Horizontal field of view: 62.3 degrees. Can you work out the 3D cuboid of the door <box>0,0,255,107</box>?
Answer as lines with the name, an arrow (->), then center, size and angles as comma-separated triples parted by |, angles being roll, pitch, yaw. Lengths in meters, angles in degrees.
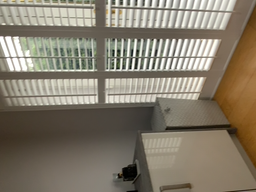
door -> -0.090, -0.490, 1.610 | 0.070, 2.020, 1.480 | -101, 13, -47
